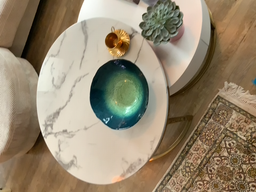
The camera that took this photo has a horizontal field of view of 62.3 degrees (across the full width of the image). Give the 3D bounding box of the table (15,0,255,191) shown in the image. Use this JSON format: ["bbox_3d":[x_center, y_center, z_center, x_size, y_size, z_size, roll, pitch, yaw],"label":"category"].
[{"bbox_3d":[-0.030,-0.120,1.170,0.820,0.420,1.150,38,108,25],"label":"table"}]

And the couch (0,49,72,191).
[{"bbox_3d":[-0.960,0.210,1.740,0.530,0.380,1.000,38,108,25],"label":"couch"}]

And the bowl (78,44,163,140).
[{"bbox_3d":[-0.050,-0.020,0.920,0.300,0.040,0.290,40,109,24],"label":"bowl"}]
